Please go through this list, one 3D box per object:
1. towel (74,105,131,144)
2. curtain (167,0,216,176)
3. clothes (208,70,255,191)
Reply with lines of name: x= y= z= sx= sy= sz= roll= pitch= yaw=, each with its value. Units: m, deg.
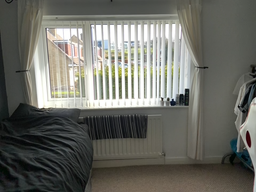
towel: x=-0.290 y=0.330 z=2.530 sx=0.640 sy=0.400 sz=0.230 roll=-1 pitch=10 yaw=-2
curtain: x=0.710 y=-0.110 z=2.470 sx=0.440 sy=2.170 sz=0.160 roll=-1 pitch=10 yaw=-2
clothes: x=1.340 y=0.360 z=2.050 sx=0.620 sy=1.140 sz=1.070 roll=-1 pitch=10 yaw=-3
